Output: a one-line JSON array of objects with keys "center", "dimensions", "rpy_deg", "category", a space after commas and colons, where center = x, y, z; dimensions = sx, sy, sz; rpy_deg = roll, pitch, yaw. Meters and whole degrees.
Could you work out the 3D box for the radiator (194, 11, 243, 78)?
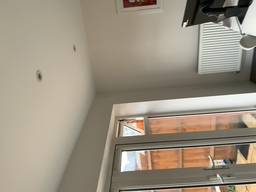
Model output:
[{"center": [1.250, -0.700, 2.990], "dimensions": [0.150, 0.550, 0.860], "rpy_deg": [-89, -7, -64], "category": "radiator"}]
